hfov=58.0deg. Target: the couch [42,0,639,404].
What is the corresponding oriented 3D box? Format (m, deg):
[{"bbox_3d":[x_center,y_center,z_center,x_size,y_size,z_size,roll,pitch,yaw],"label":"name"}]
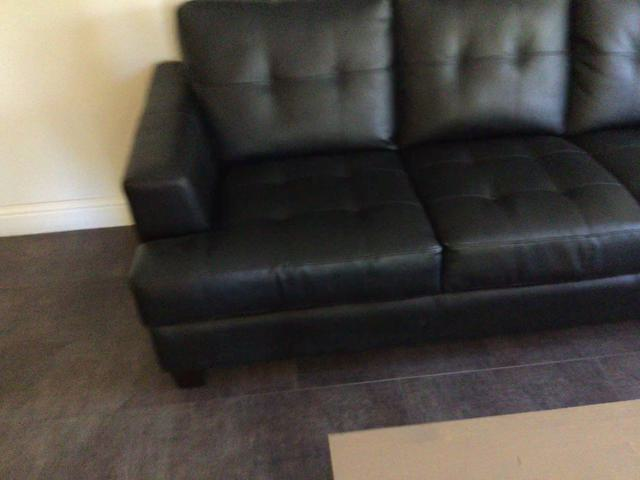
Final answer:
[{"bbox_3d":[0.550,-0.250,1.790,2.170,0.970,0.970,-2,37,-1],"label":"couch"}]
